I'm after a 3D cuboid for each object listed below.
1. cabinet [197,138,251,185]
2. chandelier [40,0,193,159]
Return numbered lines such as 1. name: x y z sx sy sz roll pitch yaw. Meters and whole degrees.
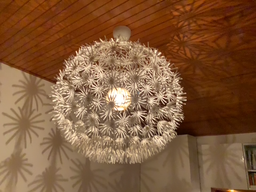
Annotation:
1. cabinet: 1.490 1.030 3.320 0.620 0.630 0.430 -12 -24 34
2. chandelier: -0.100 -0.120 1.610 0.770 1.080 0.810 5 -20 -11
